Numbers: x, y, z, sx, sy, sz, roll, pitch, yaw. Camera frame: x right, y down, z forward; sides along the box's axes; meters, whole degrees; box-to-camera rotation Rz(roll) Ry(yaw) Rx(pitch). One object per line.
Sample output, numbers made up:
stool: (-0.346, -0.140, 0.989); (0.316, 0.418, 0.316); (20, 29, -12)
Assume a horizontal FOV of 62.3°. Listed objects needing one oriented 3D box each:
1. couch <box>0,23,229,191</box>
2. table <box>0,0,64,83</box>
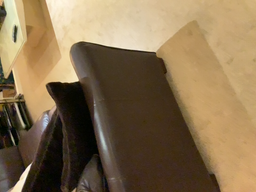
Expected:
couch: (-0.570, 0.610, 1.750); (2.210, 0.810, 1.020); (-35, 69, 41)
table: (-1.380, -0.970, 2.700); (0.870, 0.430, 1.360); (-35, 69, 40)
